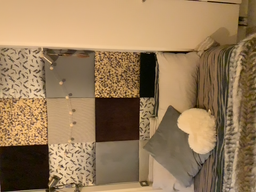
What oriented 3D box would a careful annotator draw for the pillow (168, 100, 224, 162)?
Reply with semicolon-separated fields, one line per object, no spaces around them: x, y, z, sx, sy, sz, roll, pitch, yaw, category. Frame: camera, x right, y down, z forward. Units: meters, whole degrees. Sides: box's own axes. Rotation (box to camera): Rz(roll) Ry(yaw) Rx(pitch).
0.580;0.290;1.790;0.400;0.310;0.170;-43;5;-38;pillow

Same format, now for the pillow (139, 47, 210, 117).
0.430;-0.130;2.010;0.480;0.410;0.190;-45;9;0;pillow

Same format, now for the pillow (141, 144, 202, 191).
0.430;0.790;2.160;0.240;0.420;0.430;-151;82;-80;pillow

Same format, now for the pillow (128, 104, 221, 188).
0.430;0.470;1.970;0.620;0.560;0.280;-23;7;23;pillow
